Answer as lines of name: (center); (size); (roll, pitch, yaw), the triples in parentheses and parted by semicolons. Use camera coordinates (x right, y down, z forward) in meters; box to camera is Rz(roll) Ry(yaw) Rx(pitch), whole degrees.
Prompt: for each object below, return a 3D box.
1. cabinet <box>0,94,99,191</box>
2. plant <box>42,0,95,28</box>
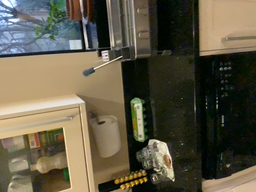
cabinet: (-0.600, 0.340, 1.080); (0.310, 0.800, 0.560); (-162, 65, -65)
plant: (-0.380, -0.550, 1.340); (0.250, 0.270, 0.190); (-159, 62, -65)
